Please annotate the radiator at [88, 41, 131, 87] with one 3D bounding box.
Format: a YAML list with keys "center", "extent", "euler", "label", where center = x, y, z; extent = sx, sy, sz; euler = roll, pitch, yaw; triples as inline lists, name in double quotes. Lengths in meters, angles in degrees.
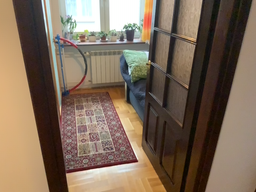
- center: [-0.330, -0.560, 3.740]
  extent: [0.700, 0.760, 0.190]
  euler: [-3, 26, -11]
  label: "radiator"

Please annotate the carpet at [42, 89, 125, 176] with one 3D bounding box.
- center: [-0.580, 0.310, 2.850]
  extent: [0.770, 0.070, 1.830]
  euler: [-3, 26, -10]
  label: "carpet"
